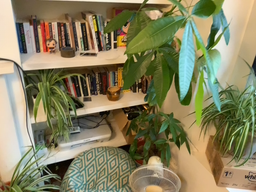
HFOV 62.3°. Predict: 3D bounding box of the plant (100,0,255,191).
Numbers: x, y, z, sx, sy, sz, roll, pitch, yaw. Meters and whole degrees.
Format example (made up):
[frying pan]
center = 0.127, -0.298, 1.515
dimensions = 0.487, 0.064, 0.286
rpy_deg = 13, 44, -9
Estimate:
[plant]
center = 0.320, 0.080, 1.370
dimensions = 0.840, 1.660, 0.920
rpy_deg = -5, 29, -17
